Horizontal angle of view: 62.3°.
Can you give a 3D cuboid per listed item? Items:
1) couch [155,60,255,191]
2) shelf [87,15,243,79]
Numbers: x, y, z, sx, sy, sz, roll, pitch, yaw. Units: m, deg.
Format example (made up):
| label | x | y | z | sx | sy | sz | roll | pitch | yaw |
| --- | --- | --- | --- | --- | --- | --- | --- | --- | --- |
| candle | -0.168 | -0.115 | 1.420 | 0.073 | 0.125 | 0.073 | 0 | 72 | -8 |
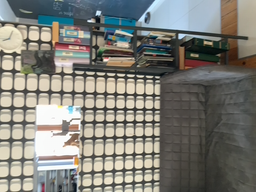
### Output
| label | x | y | z | sx | sy | sz | roll | pitch | yaw |
| --- | --- | --- | --- | --- | --- | --- | --- | --- | --- |
| couch | 0.690 | 0.420 | 1.710 | 0.730 | 0.690 | 1.240 | 174 | 98 | -73 |
| shelf | 0.340 | -0.380 | 1.850 | 0.320 | 1.330 | 0.350 | 174 | 98 | -73 |
